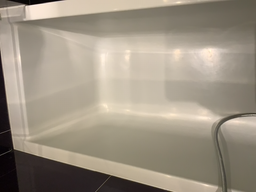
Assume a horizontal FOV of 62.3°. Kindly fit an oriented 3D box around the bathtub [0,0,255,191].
[{"bbox_3d":[0.270,-0.060,0.930,1.700,0.590,0.690,5,104,24],"label":"bathtub"}]
